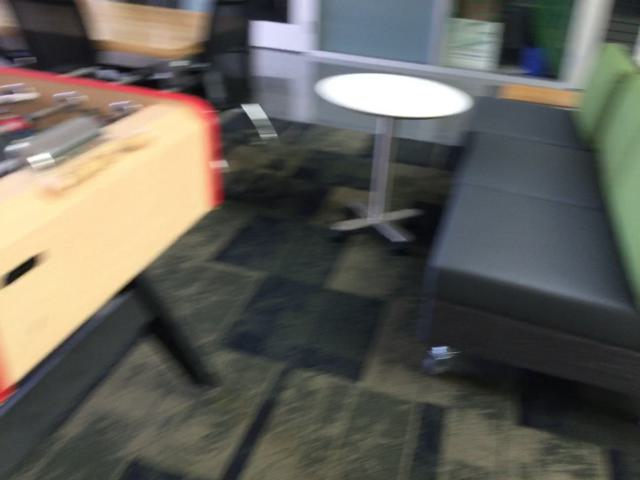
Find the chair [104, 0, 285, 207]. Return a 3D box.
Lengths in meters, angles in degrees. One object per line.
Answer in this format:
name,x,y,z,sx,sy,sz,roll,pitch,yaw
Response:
chair,-0.610,-0.800,2.950,0.640,0.990,0.590,14,32,11

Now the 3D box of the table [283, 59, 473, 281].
table,0.260,-0.340,2.570,0.630,0.680,0.620,14,32,12

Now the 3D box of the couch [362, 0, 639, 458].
couch,1.000,-0.410,2.610,0.950,0.880,2.510,14,32,11

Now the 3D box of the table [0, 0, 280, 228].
table,-1.610,-0.940,3.210,2.500,0.780,1.080,14,32,11

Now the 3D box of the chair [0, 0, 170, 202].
chair,-1.140,-0.760,2.800,0.570,0.890,0.560,14,32,11
